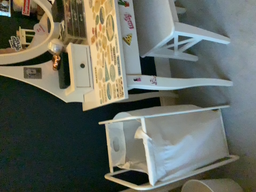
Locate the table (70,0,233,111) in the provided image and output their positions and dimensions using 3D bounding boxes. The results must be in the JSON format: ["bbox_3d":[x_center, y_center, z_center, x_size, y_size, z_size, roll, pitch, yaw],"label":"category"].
[{"bbox_3d":[0.100,-0.460,1.270,0.490,0.730,1.000,-17,78,57],"label":"table"}]

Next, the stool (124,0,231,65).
[{"bbox_3d":[0.280,-0.440,1.260,0.330,0.450,0.390,-26,71,55],"label":"stool"}]
